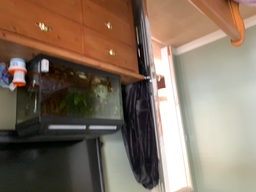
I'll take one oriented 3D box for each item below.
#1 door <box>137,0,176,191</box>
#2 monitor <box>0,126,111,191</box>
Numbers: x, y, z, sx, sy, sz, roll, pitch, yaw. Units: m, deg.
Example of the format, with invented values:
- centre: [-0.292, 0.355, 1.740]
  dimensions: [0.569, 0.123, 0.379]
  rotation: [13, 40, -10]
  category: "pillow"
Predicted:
- centre: [0.250, 0.050, 2.100]
  dimensions: [0.100, 2.100, 0.810]
  rotation: [-6, 167, 2]
  category: "door"
- centre: [-0.490, 0.500, 1.390]
  dimensions: [0.040, 0.600, 0.910]
  rotation: [-22, 160, 41]
  category: "monitor"
